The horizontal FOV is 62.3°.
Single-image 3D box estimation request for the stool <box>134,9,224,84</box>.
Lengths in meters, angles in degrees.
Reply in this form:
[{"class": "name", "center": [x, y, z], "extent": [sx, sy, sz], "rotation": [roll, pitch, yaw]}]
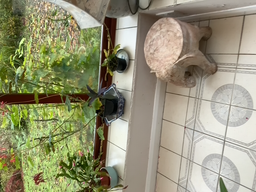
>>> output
[{"class": "stool", "center": [0.290, -0.270, 1.260], "extent": [0.360, 0.320, 0.350], "rotation": [15, 102, 51]}]
